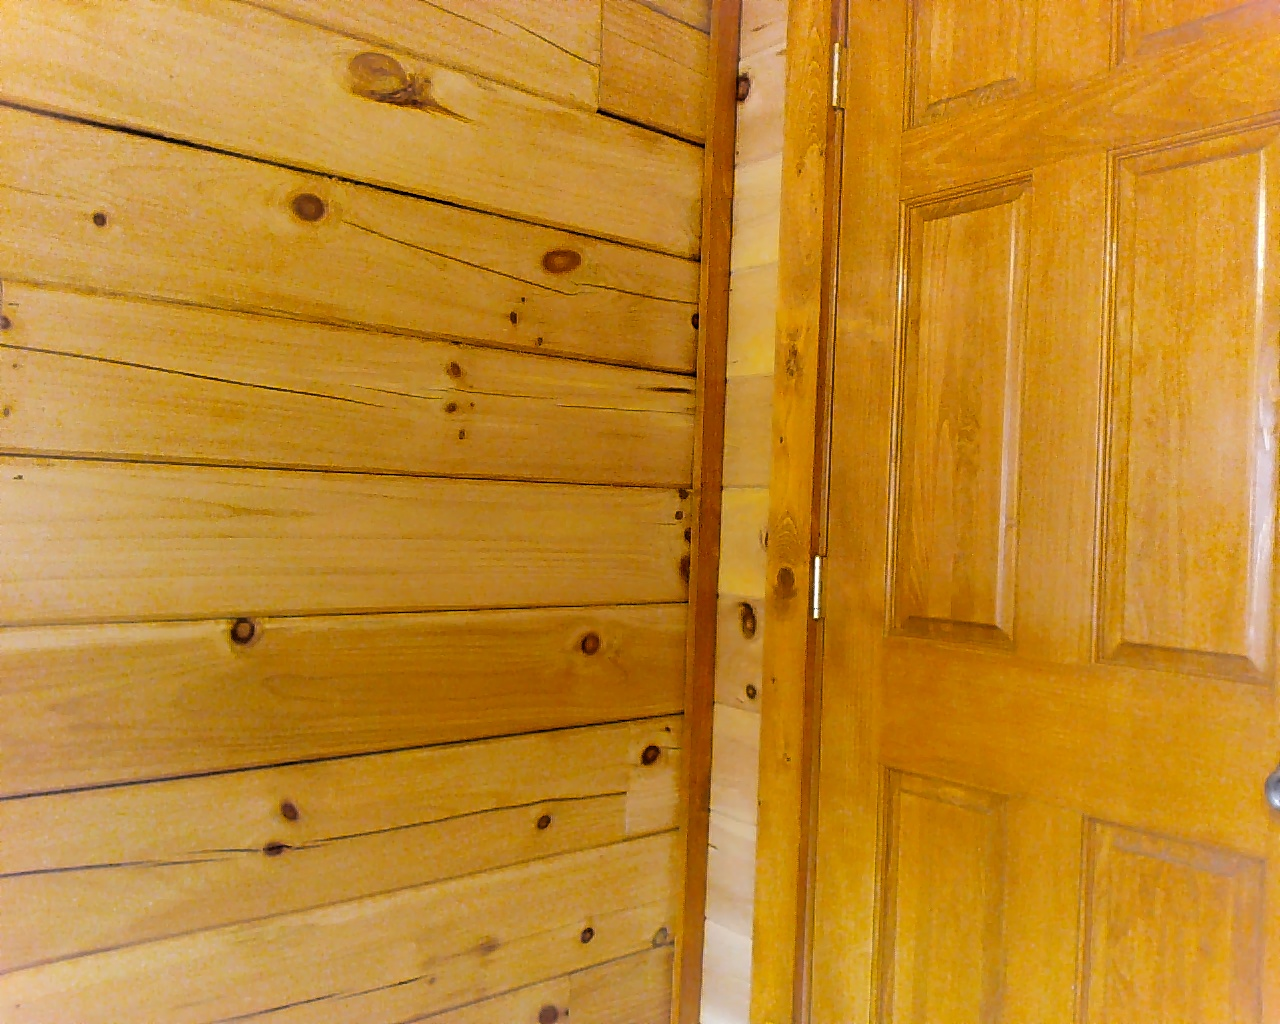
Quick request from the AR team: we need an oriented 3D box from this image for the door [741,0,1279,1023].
[{"bbox_3d":[0.510,0.160,1.250,0.100,2.061,0.910,1,2,-41],"label":"door"}]
